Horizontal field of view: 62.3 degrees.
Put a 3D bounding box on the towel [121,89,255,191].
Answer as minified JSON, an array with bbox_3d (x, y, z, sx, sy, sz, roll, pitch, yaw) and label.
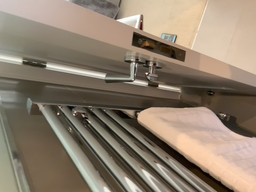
[{"bbox_3d":[0.240,0.120,0.570,0.500,0.270,0.100,30,108,48],"label":"towel"}]

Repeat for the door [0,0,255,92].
[{"bbox_3d":[-0.200,-0.150,0.720,0.780,1.980,0.050,6,90,51],"label":"door"}]
